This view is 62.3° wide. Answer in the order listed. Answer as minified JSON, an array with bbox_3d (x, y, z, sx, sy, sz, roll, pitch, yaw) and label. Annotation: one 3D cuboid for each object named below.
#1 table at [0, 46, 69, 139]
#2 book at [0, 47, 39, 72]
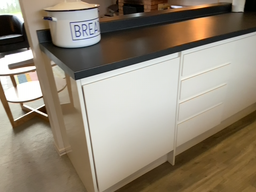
[{"bbox_3d":[-1.010,-0.080,2.120,0.570,0.620,0.580,-19,33,-27],"label":"table"},{"bbox_3d":[-1.050,-0.350,1.990,0.330,0.070,0.380,-17,33,-25],"label":"book"}]
